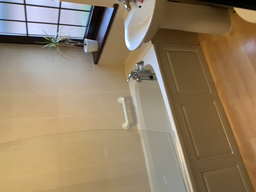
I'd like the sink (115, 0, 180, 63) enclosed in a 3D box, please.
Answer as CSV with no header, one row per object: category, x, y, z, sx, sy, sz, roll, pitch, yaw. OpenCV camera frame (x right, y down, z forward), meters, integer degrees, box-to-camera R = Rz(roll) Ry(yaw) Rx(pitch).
sink,0.100,-0.580,1.580,0.570,0.170,0.430,133,131,-59

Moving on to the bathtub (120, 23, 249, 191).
bathtub,0.450,0.280,2.070,0.670,0.570,1.840,131,133,-58

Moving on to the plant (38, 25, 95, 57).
plant,-0.640,-0.560,2.200,0.240,0.530,0.170,127,136,-56
